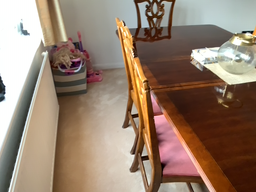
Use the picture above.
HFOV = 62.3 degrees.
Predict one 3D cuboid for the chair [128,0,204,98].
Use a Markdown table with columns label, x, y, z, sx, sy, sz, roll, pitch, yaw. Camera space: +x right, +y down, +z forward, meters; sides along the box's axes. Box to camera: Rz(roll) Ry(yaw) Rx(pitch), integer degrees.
| label | x | y | z | sx | sy | sz | roll | pitch | yaw |
| --- | --- | --- | --- | --- | --- | --- | --- | --- | --- |
| chair | 0.360 | -0.580 | 2.450 | 0.590 | 0.970 | 0.590 | -7 | 33 | -12 |

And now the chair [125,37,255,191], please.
| label | x | y | z | sx | sy | sz | roll | pitch | yaw |
| --- | --- | --- | --- | --- | --- | --- | --- | --- | --- |
| chair | 0.300 | 0.210 | 1.240 | 0.590 | 0.950 | 0.530 | -2 | 33 | -5 |
